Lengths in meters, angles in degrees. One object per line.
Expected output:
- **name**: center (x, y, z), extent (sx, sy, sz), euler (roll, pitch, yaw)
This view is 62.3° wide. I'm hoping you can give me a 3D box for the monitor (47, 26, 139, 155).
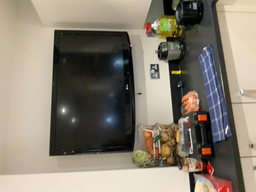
- **monitor**: center (-0.280, -0.080, 1.720), extent (0.050, 0.680, 1.050), euler (114, 154, -75)
